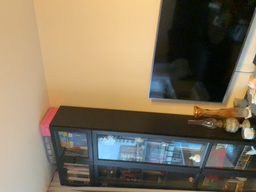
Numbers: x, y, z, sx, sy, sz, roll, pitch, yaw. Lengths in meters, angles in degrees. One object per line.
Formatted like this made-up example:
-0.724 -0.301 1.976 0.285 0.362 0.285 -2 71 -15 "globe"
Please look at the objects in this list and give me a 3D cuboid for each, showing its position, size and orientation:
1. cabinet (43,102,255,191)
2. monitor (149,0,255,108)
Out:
0.480 0.590 2.040 0.290 2.370 0.850 -83 -2 -58 "cabinet"
0.520 -0.400 1.490 0.050 0.660 1.120 -86 -2 -57 "monitor"
